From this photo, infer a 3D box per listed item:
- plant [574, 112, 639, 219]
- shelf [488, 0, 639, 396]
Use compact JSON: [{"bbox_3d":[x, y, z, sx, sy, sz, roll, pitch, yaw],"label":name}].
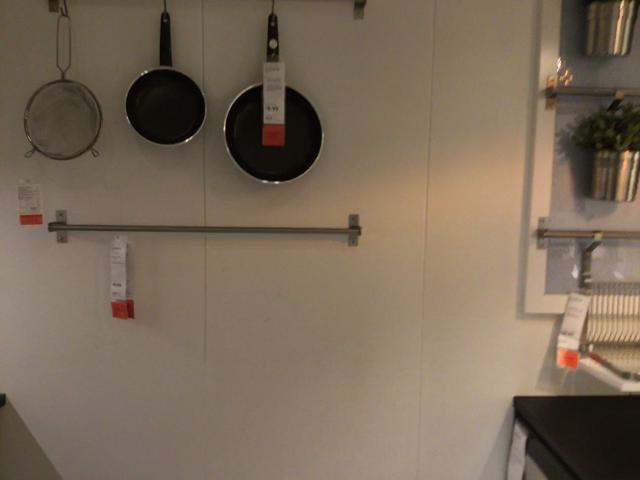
[{"bbox_3d":[0.750,-0.180,1.430,0.170,0.250,0.140,1,5,-1],"label":"plant"},{"bbox_3d":[0.850,-0.180,1.440,0.760,1.090,0.220,1,5,-1],"label":"shelf"}]
